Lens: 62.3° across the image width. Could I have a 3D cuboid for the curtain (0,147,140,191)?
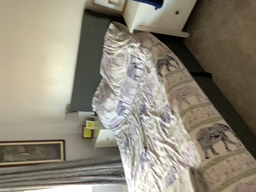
[{"bbox_3d":[-1.000,1.010,2.970,0.420,2.390,0.190,-112,32,-46],"label":"curtain"}]
